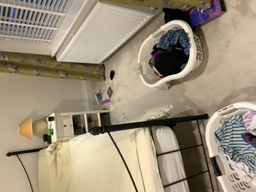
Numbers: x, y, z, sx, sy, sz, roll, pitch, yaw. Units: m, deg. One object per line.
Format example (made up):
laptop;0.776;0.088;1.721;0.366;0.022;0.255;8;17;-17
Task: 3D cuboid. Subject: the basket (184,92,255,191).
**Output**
basket;0.720;0.360;1.340;0.580;0.220;0.660;-27;69;52

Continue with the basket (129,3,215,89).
basket;0.340;-0.370;1.890;0.760;0.240;0.540;-8;85;55

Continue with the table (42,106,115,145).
table;-0.700;0.410;2.980;0.570;0.810;0.380;-26;70;52

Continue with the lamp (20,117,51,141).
lamp;-1.210;0.430;2.770;0.290;0.310;0.230;-28;69;52
